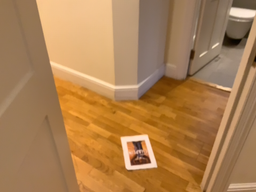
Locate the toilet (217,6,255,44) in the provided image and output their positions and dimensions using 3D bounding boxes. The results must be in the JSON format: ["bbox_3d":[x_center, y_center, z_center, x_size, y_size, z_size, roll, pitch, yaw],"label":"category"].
[{"bbox_3d":[1.590,-1.060,3.120,0.370,0.390,0.440,18,39,24],"label":"toilet"}]
